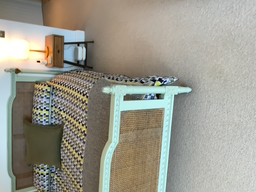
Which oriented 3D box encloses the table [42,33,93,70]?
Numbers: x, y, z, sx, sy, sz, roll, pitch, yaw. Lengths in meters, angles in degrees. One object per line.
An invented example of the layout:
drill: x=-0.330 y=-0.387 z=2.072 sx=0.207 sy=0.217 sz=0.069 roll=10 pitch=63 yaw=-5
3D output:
table: x=-0.880 y=-0.630 z=3.090 sx=0.390 sy=0.600 sz=0.450 roll=13 pitch=102 yaw=52

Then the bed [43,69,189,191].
bed: x=-0.430 y=0.710 z=2.560 sx=2.160 sy=0.570 sz=1.950 roll=13 pitch=102 yaw=52
